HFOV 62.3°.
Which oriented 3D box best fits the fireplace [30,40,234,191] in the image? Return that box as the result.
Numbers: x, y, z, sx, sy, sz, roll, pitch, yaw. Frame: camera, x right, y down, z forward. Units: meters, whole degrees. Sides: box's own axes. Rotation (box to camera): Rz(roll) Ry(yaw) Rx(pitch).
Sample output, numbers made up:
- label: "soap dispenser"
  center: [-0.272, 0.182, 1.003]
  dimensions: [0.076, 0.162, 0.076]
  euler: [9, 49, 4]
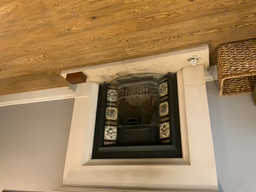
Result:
- label: "fireplace"
  center: [0.010, 0.270, 2.140]
  dimensions: [1.680, 1.270, 0.530]
  euler: [-7, 155, 18]
